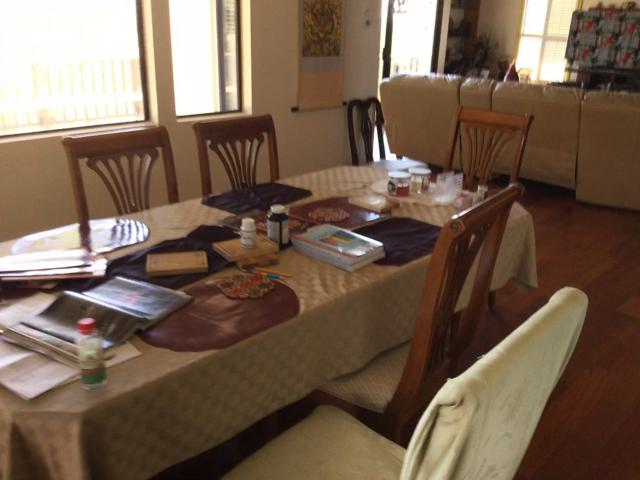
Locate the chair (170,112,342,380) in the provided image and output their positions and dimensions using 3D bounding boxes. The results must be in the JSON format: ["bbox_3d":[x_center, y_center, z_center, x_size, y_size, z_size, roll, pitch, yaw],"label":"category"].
[{"bbox_3d":[-0.260,0.000,2.630,0.510,1.040,0.450,-22,29,-38],"label":"chair"}]

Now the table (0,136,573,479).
[{"bbox_3d":[-0.170,0.300,2.190,2.170,0.850,1.200,-22,31,-40],"label":"table"}]

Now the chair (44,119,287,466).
[{"bbox_3d":[-0.560,0.150,2.220,0.530,1.060,0.650,-22,31,-40],"label":"chair"}]

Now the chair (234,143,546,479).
[{"bbox_3d":[0.200,0.310,1.850,0.600,1.050,0.650,-22,31,-40],"label":"chair"}]

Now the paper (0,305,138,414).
[{"bbox_3d":[-0.620,0.250,1.290,0.350,0.030,0.230,13,26,29],"label":"paper"}]
